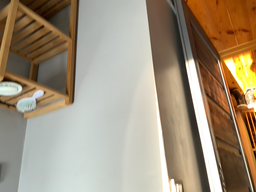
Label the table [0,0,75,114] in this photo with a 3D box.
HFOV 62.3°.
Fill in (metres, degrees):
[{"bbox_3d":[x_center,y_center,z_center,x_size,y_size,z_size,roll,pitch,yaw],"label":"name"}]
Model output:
[{"bbox_3d":[-0.520,-0.330,1.060,0.340,0.720,0.340,-17,154,29],"label":"table"}]
